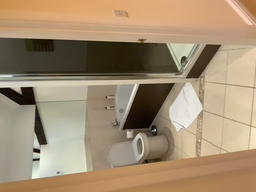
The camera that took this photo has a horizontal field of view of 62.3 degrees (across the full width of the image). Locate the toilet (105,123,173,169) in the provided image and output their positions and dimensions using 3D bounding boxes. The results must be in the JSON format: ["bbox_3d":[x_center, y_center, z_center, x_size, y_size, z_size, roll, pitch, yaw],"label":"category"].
[{"bbox_3d":[0.130,0.770,3.250,0.630,0.860,0.390,109,153,-51],"label":"toilet"}]

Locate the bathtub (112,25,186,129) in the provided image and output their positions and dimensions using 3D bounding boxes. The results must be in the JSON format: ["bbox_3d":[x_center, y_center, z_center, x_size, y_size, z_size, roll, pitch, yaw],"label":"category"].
[{"bbox_3d":[0.200,-0.200,3.390,1.650,0.570,0.710,109,153,-51],"label":"bathtub"}]
